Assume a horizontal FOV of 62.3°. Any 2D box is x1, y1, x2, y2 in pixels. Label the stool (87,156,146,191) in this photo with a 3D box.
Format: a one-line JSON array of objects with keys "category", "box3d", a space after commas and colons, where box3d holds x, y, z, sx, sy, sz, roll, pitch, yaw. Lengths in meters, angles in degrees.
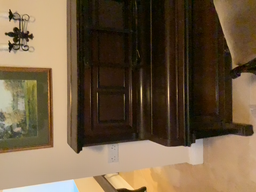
[{"category": "stool", "box3d": [-0.280, 1.380, 3.600, 1.500, 0.480, 0.350, 173, 97, -65]}]
